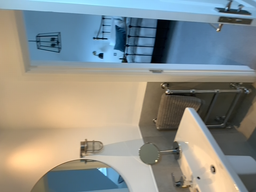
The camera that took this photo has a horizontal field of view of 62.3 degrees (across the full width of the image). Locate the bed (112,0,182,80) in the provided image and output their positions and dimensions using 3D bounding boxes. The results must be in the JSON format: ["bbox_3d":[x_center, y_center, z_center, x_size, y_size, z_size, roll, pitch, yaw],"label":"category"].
[{"bbox_3d":[0.220,-1.650,4.640,2.180,0.760,1.640,-105,19,-49],"label":"bed"}]

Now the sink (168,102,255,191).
[{"bbox_3d":[0.550,0.490,1.510,0.840,0.160,0.480,-106,20,-52],"label":"sink"}]
